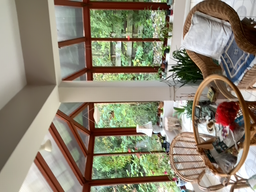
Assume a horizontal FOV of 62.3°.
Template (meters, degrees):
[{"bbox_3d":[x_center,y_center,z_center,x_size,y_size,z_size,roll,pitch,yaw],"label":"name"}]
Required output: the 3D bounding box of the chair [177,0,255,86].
[{"bbox_3d":[1.010,-0.560,1.990,0.690,0.810,0.650,100,167,-57],"label":"chair"}]

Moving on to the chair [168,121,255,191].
[{"bbox_3d":[0.970,0.650,2.470,0.660,0.820,0.640,161,109,-83],"label":"chair"}]
